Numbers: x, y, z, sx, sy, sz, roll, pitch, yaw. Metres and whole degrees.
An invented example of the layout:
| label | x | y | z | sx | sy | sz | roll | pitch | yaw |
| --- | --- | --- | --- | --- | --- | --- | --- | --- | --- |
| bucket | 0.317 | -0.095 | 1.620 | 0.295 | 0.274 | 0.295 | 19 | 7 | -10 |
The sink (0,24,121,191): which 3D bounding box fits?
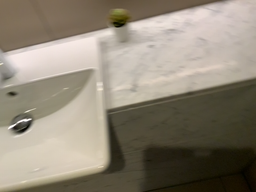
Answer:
| label | x | y | z | sx | sy | sz | roll | pitch | yaw |
| --- | --- | --- | --- | --- | --- | --- | --- | --- | --- |
| sink | -0.340 | 0.050 | 0.620 | 0.570 | 0.140 | 0.470 | -12 | 53 | 2 |
